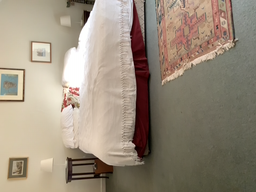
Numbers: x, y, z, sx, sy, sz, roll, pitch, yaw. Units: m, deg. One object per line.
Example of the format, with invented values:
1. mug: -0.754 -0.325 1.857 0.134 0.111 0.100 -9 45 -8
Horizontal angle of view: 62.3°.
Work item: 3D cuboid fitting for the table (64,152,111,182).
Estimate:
1. table: -0.690 1.180 3.600 0.390 0.720 0.380 153 118 -67
